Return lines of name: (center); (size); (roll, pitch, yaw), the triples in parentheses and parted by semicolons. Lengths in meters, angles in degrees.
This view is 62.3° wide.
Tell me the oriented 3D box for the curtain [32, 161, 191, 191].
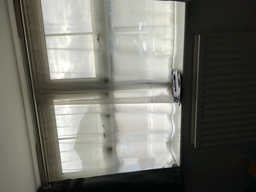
curtain: (-0.100, 0.730, 1.670); (0.140, 1.180, 0.280); (-118, 26, -73)
